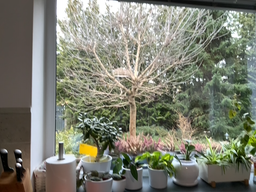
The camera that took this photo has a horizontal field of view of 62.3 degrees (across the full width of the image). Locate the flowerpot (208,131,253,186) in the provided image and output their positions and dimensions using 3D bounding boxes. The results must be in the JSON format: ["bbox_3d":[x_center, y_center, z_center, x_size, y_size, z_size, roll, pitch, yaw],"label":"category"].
[{"bbox_3d":[0.720,0.430,1.520,0.170,0.310,0.270,1,-1,-6],"label":"flowerpot"}]

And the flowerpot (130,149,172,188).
[{"bbox_3d":[0.150,0.490,1.460,0.240,0.190,0.210,1,-1,-9],"label":"flowerpot"}]
